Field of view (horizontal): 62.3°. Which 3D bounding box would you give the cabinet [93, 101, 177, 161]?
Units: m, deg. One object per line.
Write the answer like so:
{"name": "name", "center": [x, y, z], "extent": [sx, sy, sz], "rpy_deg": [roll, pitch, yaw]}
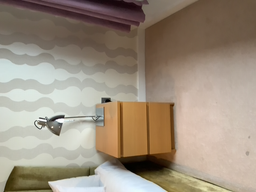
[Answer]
{"name": "cabinet", "center": [0.040, 0.270, 1.860], "extent": [0.520, 0.550, 0.420], "rpy_deg": [-6, 83, 62]}
